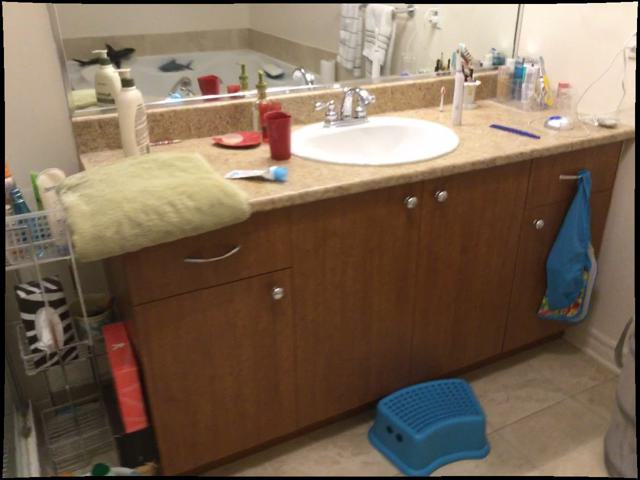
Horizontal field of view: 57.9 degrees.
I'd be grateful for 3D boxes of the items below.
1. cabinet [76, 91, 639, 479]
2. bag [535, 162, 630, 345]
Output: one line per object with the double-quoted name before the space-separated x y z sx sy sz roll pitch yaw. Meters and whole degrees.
"cabinet" 0.200 0.110 1.810 1.579 0.811 0.540 -16 29 -24
"bag" 0.829 0.050 1.850 0.210 0.560 0.090 -16 29 -24
